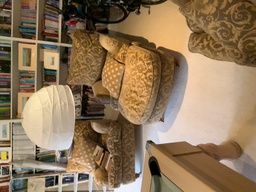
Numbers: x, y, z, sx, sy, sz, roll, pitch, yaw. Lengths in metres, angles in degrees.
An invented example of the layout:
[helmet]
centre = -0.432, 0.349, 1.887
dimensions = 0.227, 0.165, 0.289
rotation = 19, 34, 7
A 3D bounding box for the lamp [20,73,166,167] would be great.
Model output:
[lamp]
centre = -0.420, 0.200, 2.480
dimensions = 0.740, 1.450, 0.700
rotation = 31, 116, 56
